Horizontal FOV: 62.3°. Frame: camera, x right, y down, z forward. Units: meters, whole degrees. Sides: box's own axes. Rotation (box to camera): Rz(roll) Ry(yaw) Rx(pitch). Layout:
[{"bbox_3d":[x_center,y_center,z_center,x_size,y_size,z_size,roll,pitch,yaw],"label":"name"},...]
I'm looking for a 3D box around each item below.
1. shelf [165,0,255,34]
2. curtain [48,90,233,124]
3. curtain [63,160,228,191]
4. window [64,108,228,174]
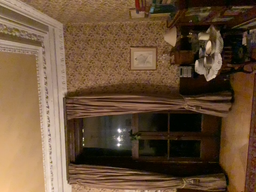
[{"bbox_3d":[1.170,-1.020,2.410,1.030,1.340,0.450,-76,-15,-81],"label":"shelf"},{"bbox_3d":[0.210,0.210,4.120,0.460,3.360,0.560,-72,-19,-83],"label":"curtain"},{"bbox_3d":[0.320,1.740,4.250,0.380,3.130,0.770,-64,-27,-86],"label":"curtain"},{"bbox_3d":[0.350,0.940,4.460,0.190,3.330,1.330,-67,-24,-84],"label":"window"}]
